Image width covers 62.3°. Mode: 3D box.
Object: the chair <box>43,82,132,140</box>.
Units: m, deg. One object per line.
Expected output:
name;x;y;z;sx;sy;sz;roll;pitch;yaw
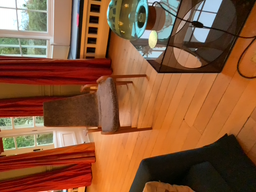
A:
chair;-0.600;0.220;2.880;0.870;0.970;0.610;156;110;-64
